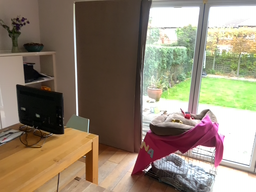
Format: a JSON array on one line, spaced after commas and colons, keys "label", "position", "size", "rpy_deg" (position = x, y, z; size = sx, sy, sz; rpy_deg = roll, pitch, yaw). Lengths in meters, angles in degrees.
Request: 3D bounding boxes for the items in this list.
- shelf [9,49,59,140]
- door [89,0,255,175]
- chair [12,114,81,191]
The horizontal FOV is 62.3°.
[{"label": "shelf", "position": [-1.510, -0.060, 3.500], "size": [0.360, 1.380, 0.590], "rpy_deg": [10, 17, 24]}, {"label": "door", "position": [1.450, -0.120, 2.970], "size": [4.750, 2.430, 0.080], "rpy_deg": [10, 17, 23]}, {"label": "chair", "position": [-0.780, 0.670, 2.150], "size": [0.450, 0.810, 0.470], "rpy_deg": [6, 15, 9]}]
